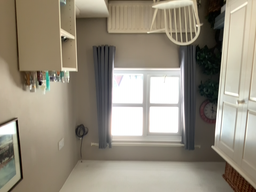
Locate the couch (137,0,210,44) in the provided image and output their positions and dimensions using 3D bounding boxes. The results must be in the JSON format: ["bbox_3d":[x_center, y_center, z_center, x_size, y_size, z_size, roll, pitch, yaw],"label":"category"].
[{"bbox_3d":[0.500,-0.980,2.280,0.560,0.730,0.600,5,-171,36],"label":"couch"}]

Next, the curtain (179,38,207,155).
[{"bbox_3d":[0.830,0.010,2.760,0.230,1.440,0.320,0,-173,3],"label":"curtain"}]
